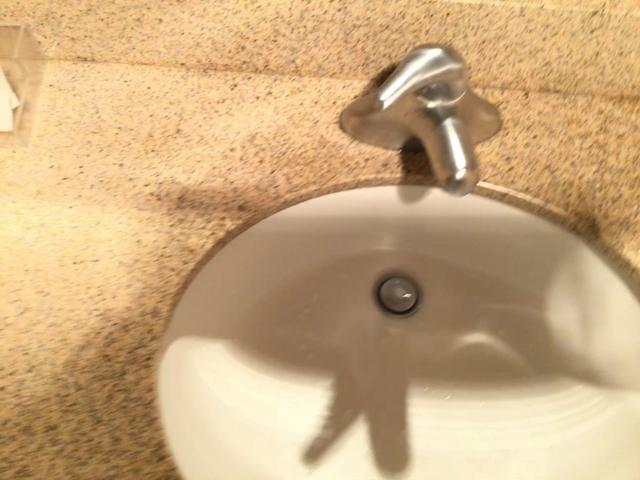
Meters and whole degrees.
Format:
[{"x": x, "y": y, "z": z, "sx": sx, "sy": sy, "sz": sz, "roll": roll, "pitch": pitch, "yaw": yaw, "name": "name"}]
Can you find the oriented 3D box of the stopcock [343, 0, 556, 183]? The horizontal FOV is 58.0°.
[{"x": 0.100, "y": -0.140, "z": 0.500, "sx": 0.150, "sy": 0.100, "sz": 0.140, "roll": 3, "pitch": 64, "yaw": -1, "name": "stopcock"}]
